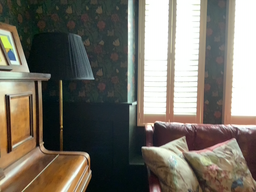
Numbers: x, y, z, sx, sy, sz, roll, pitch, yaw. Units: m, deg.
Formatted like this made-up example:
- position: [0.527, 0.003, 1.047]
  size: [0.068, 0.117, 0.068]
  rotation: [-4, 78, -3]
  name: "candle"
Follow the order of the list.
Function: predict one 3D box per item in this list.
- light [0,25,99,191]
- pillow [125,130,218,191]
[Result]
- position: [-0.560, 0.330, 1.630]
  size: [0.570, 1.600, 0.420]
  rotation: [1, 5, 8]
  name: "light"
- position: [0.290, 0.460, 1.370]
  size: [0.470, 0.390, 0.230]
  rotation: [7, 25, -47]
  name: "pillow"
